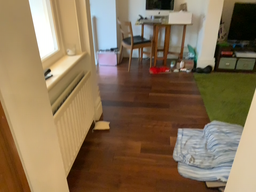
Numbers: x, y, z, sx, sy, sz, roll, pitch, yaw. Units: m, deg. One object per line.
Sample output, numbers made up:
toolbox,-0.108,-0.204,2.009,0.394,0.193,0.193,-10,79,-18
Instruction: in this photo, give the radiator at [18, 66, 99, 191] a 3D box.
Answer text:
radiator,-0.420,0.280,1.590,0.140,0.760,0.820,4,29,8

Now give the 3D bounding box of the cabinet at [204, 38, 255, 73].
cabinet,2.000,-0.670,3.520,1.270,0.410,0.490,4,29,7
